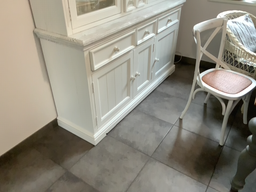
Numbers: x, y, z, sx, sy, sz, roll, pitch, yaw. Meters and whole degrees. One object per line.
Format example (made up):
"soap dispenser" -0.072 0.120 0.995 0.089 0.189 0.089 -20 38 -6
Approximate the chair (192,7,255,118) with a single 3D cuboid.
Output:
"chair" 1.220 -0.390 2.230 0.620 0.840 0.680 -21 40 -28
